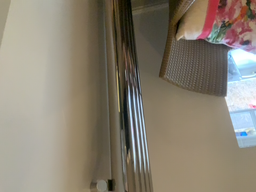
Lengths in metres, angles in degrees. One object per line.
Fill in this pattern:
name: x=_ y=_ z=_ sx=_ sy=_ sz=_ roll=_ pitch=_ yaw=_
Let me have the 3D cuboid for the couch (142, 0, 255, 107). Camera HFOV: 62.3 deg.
couch: x=0.490 y=-0.500 z=1.030 sx=0.550 sy=0.880 sz=0.640 roll=10 pitch=152 yaw=-30
